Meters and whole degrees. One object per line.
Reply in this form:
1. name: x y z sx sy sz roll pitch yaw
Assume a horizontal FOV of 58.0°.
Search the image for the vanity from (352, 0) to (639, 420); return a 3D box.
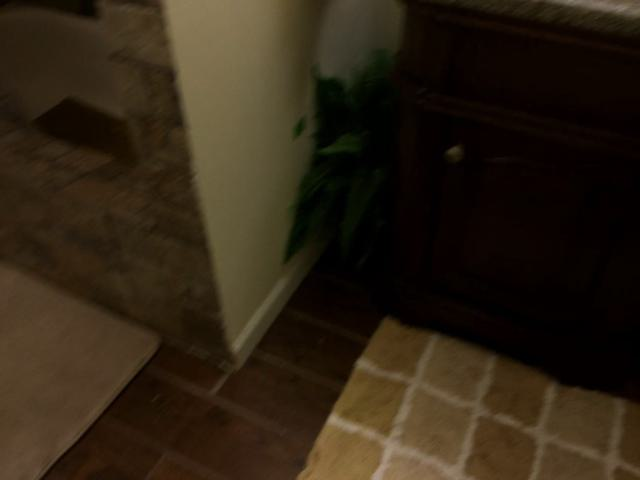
1. vanity: 0.530 -0.240 1.310 0.710 1.020 0.590 18 46 20
